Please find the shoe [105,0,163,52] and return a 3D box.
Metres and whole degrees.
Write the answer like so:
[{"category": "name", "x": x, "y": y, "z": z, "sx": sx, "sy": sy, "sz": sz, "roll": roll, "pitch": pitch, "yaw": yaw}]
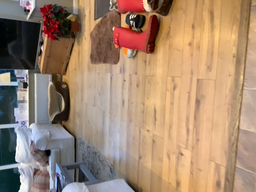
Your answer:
[{"category": "shoe", "x": 0.020, "y": -0.660, "z": 1.790, "sx": 0.650, "sy": 0.150, "sz": 0.540, "roll": 15, "pitch": 104, "yaw": 58}]
